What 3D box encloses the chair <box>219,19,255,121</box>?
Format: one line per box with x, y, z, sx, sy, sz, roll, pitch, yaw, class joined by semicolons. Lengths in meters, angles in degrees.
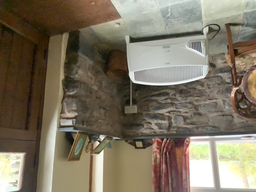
1.190;-0.210;1.940;0.560;0.780;0.550;-6;164;20;chair

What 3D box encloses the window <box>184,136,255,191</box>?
1.300;1.030;2.170;1.330;1.220;0.060;-6;164;21;window
